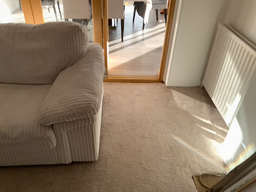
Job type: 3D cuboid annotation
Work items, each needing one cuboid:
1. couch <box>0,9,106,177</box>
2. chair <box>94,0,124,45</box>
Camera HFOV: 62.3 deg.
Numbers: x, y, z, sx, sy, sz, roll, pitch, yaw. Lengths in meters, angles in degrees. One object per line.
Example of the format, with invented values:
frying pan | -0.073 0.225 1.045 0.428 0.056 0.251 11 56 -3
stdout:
couch | -1.270 -0.090 1.670 2.150 0.870 1.080 0 37 -5
chair | -0.300 -1.450 3.490 0.460 1.070 0.460 1 37 -3
